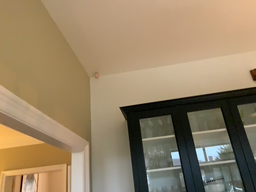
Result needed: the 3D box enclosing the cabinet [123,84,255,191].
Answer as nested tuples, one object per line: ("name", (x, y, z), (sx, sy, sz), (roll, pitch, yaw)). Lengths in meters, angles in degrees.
("cabinet", (0.910, 1.160, 1.910), (1.650, 2.450, 0.470), (-8, -23, 3))
